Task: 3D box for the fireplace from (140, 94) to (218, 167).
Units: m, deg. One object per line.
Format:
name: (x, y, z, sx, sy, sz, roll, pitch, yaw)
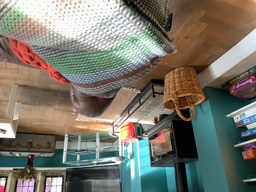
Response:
fireplace: (0.630, 0.570, 3.070, 0.490, 0.720, 1.180, 5, 154, -16)
